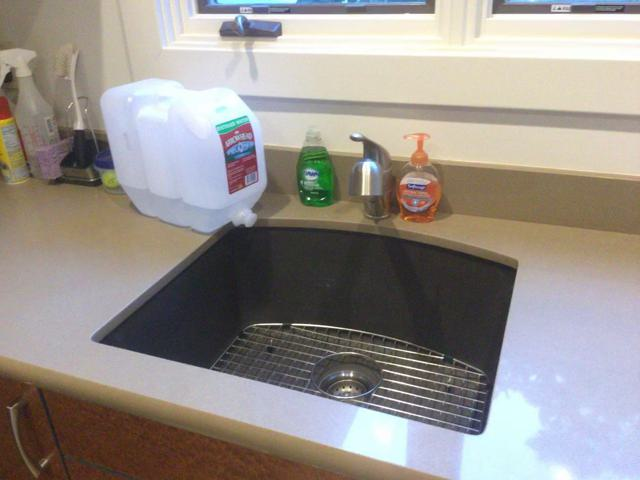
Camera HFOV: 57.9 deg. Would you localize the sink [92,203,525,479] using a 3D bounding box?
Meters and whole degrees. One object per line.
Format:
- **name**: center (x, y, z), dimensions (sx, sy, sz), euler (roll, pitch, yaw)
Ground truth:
- **sink**: center (0.020, 0.190, 0.970), dimensions (0.560, 0.310, 0.430), euler (8, 27, 18)
